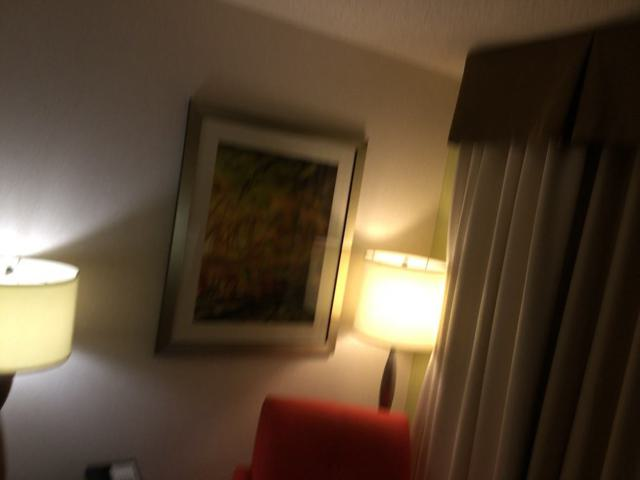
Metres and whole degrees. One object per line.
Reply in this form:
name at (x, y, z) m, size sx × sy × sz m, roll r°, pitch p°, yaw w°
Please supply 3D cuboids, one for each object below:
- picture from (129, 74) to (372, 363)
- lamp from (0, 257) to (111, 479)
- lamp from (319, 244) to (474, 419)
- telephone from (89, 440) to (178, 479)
picture at (-0.230, -0.030, 2.240) m, size 0.820 × 0.980 × 0.110 m, roll 10°, pitch 0°, yaw -34°
lamp at (-0.940, 0.450, 1.680) m, size 0.420 × 0.750 × 0.430 m, roll 10°, pitch 0°, yaw -34°
lamp at (0.300, 0.350, 2.310) m, size 0.360 × 0.590 × 0.380 m, roll 10°, pitch 0°, yaw -34°
telephone at (-0.680, 0.860, 2.090) m, size 0.250 × 0.200 × 0.170 m, roll 10°, pitch 0°, yaw -34°
